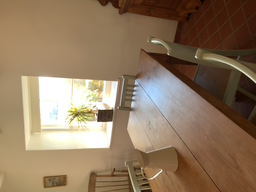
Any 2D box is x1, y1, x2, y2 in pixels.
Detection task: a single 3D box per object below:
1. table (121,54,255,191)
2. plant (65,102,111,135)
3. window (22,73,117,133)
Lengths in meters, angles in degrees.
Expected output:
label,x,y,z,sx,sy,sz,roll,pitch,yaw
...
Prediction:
label,x,y,z,sx,sy,sz,roll,pitch,yaw
table,0.560,0.430,1.320,1.650,0.780,0.880,-118,33,-60
plant,-0.580,0.310,3.000,0.290,0.590,0.350,-114,30,-57
window,-0.860,0.140,3.220,0.100,1.290,0.920,-117,33,-59
